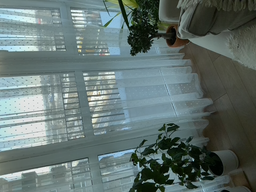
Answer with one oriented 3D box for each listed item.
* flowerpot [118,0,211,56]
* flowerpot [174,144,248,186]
[{"bbox_3d":[0.330,-0.720,2.100,0.440,0.690,0.450,121,138,-56],"label":"flowerpot"},{"bbox_3d":[0.670,0.560,1.730,0.200,0.510,0.210,128,132,-60],"label":"flowerpot"}]
